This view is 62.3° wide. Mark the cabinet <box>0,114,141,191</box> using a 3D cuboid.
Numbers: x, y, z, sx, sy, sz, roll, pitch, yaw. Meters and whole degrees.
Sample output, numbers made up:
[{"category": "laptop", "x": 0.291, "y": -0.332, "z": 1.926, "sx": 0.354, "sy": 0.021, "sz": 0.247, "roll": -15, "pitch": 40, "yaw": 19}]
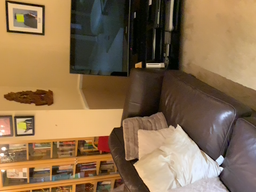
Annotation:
[{"category": "cabinet", "x": -0.950, "y": 1.540, "z": 3.370, "sx": 0.250, "sy": 1.900, "sz": 2.650, "roll": -131, "pitch": 46, "yaw": -57}]

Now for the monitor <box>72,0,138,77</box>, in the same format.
[{"category": "monitor", "x": -0.230, "y": -0.700, "z": 2.260, "sx": 0.060, "sy": 0.690, "sz": 0.970, "roll": -177, "pitch": 88, "yaw": -68}]
